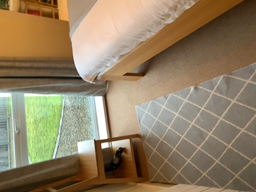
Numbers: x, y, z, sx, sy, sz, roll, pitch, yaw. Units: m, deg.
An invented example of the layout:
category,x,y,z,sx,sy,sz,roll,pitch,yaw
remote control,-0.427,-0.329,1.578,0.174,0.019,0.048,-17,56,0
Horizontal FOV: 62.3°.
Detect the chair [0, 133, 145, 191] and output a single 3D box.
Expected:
category,x,y,z,sx,sy,sz,roll,pitch,yaw
chair,-0.550,0.660,1.790,0.450,1.330,0.470,-25,71,52
